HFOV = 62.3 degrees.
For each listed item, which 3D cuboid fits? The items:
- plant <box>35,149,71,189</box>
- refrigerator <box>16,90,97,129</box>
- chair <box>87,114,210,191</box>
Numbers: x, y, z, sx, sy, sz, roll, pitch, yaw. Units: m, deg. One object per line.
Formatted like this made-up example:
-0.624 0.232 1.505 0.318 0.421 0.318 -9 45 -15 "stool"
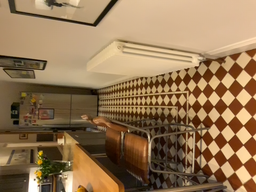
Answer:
-1.070 1.010 3.010 0.380 0.440 0.410 176 97 -65 "plant"
-1.660 0.320 5.020 0.710 1.690 0.810 177 95 -65 "refrigerator"
0.180 0.460 1.870 0.480 0.950 0.550 179 94 -65 "chair"
